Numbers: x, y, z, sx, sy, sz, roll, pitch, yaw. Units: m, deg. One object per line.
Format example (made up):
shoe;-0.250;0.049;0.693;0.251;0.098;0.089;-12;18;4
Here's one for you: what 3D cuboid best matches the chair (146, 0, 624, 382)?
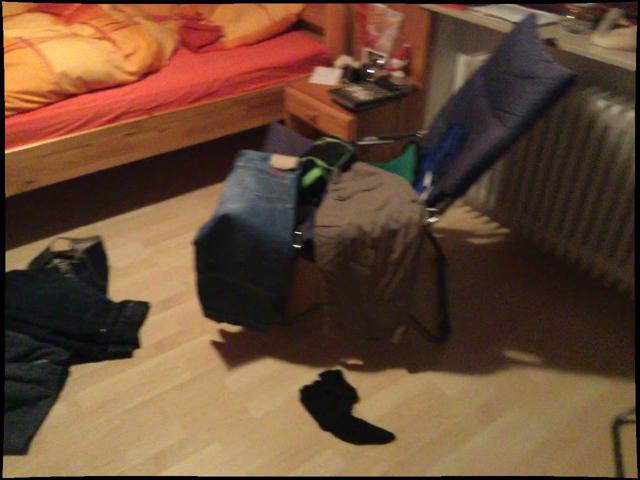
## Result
chair;0.170;-0.200;1.820;1.029;0.891;0.770;4;36;6
